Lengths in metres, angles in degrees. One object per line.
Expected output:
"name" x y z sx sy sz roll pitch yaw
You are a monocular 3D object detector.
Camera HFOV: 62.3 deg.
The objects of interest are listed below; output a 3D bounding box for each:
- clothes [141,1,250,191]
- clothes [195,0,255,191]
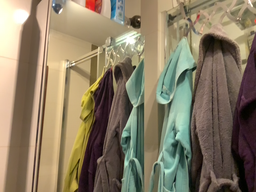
"clothes" 0.360 0.350 1.040 0.250 1.380 0.610 -8 -13 43
"clothes" 0.470 0.320 0.770 0.240 1.380 0.430 -7 -13 41
